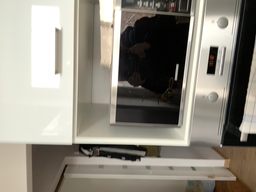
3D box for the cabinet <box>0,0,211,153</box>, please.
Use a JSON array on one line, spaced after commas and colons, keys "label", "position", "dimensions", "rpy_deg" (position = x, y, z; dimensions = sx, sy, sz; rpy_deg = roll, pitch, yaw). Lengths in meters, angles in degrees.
[{"label": "cabinet", "position": [-0.300, -0.190, 0.930], "dimensions": [0.620, 1.030, 0.610], "rpy_deg": [-111, 25, -78]}]
